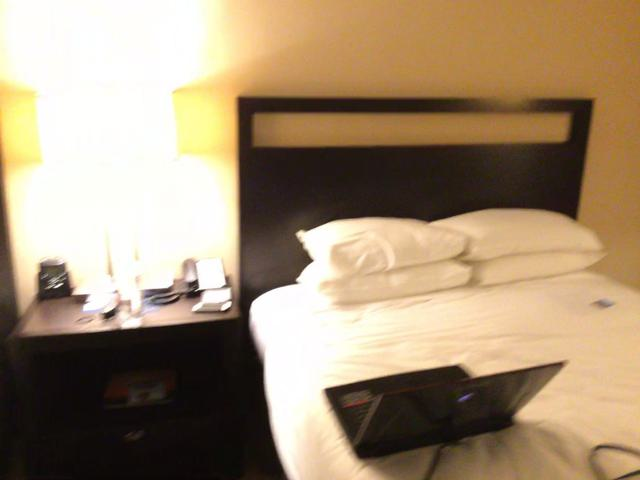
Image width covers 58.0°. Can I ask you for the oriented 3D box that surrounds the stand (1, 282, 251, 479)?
[{"bbox_3d":[-0.700,0.570,2.260,0.780,0.630,0.530,-3,14,-13],"label":"stand"}]

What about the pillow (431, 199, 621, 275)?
[{"bbox_3d":[0.860,-0.030,2.480,0.630,0.220,0.410,-2,14,-13],"label":"pillow"}]

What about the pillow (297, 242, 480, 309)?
[{"bbox_3d":[0.260,0.130,2.360,0.650,0.140,0.380,-2,14,-13],"label":"pillow"}]

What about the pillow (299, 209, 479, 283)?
[{"bbox_3d":[0.260,0.010,2.360,0.630,0.190,0.390,-2,14,-13],"label":"pillow"}]

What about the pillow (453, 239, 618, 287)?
[{"bbox_3d":[0.890,0.090,2.400,0.620,0.120,0.210,-2,14,-13],"label":"pillow"}]
